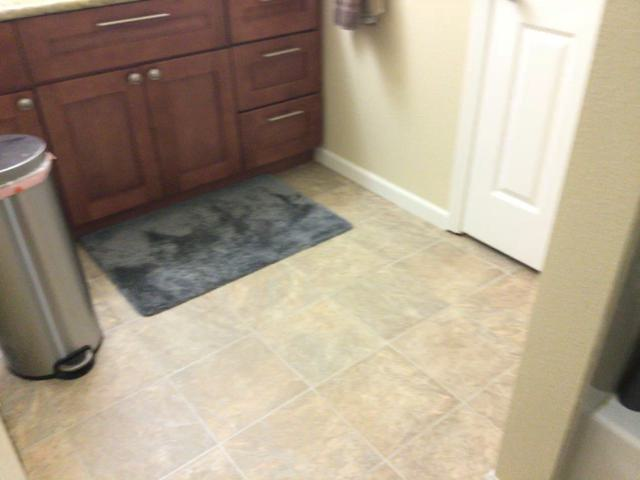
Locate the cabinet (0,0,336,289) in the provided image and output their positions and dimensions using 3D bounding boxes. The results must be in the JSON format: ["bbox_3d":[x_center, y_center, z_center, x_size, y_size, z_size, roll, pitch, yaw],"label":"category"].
[{"bbox_3d":[-0.760,-0.630,2.300,1.680,1.080,0.550,-23,38,-31],"label":"cabinet"}]

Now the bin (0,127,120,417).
[{"bbox_3d":[-0.850,0.080,1.610,0.340,0.650,0.340,-23,38,-31],"label":"bin"}]
